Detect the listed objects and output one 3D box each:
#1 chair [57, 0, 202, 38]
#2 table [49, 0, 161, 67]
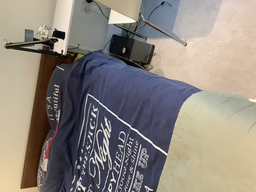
[{"bbox_3d":[0.040,-0.710,1.480,0.460,0.870,0.380,23,104,53],"label":"chair"},{"bbox_3d":[-0.180,-0.750,1.870,0.410,0.770,0.810,28,107,52],"label":"table"}]
